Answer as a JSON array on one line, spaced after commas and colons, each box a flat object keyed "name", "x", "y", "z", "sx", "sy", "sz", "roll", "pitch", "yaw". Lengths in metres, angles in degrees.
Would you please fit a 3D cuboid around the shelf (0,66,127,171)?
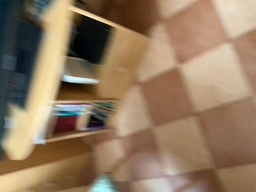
[{"name": "shelf", "x": -0.460, "y": 0.100, "z": 1.430, "sx": 0.510, "sy": 0.680, "sz": 0.370, "roll": 32, "pitch": 109, "yaw": 34}]
